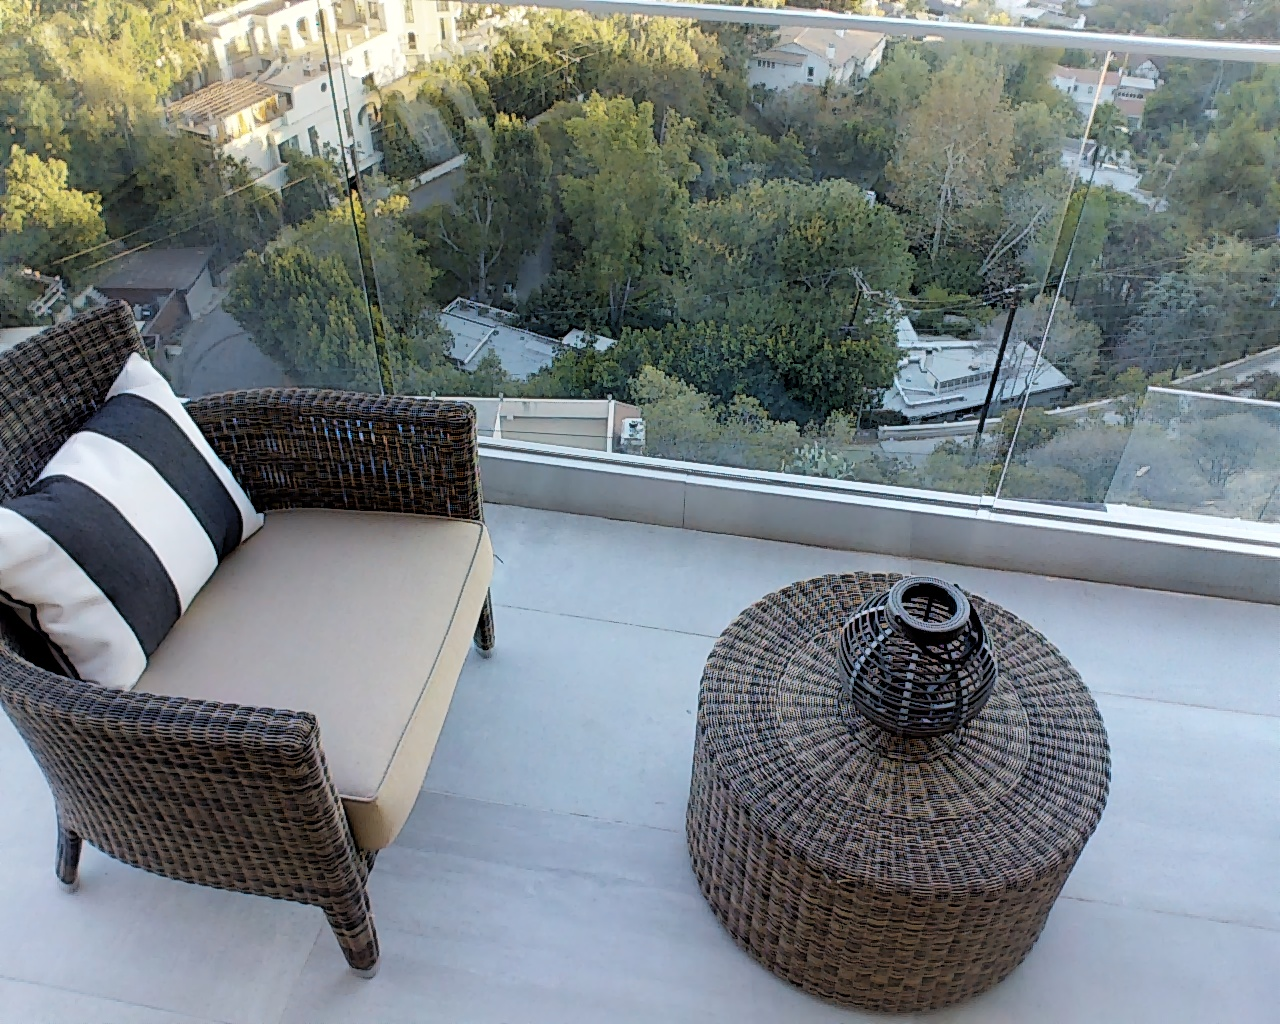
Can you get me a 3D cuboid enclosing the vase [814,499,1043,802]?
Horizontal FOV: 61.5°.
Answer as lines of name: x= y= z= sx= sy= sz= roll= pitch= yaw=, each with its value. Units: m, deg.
vase: x=0.400 y=0.190 z=1.530 sx=0.260 sy=0.250 sz=0.310 roll=6 pitch=42 yaw=10
